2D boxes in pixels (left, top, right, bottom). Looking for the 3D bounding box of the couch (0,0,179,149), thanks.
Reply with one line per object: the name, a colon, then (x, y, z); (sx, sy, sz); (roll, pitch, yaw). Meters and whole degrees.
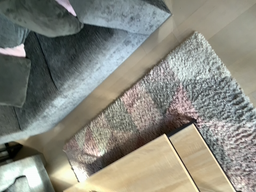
couch: (-0.710, -0.410, 1.620); (1.760, 0.740, 0.990); (-37, 75, 34)
